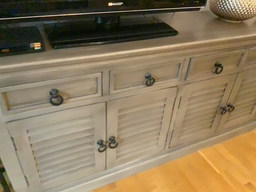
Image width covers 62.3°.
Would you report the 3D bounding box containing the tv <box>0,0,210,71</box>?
[{"bbox_3d":[-0.060,-0.520,0.790,1.080,0.770,0.050,-14,39,-24],"label":"tv"}]
